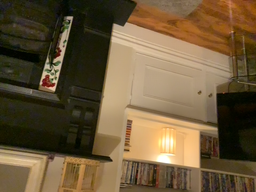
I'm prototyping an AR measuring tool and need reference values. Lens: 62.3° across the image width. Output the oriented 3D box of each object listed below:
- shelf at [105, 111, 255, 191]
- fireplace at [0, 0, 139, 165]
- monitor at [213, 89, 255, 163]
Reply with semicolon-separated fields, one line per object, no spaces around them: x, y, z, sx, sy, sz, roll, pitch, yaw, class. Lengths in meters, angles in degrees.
0.580;1.290;1.870;1.630;1.990;0.360;14;159;-18;shelf
-0.860;-0.300;1.560;1.690;1.350;0.540;13;159;-18;fireplace
1.300;0.240;1.770;1.080;0.640;0.050;-2;158;23;monitor
